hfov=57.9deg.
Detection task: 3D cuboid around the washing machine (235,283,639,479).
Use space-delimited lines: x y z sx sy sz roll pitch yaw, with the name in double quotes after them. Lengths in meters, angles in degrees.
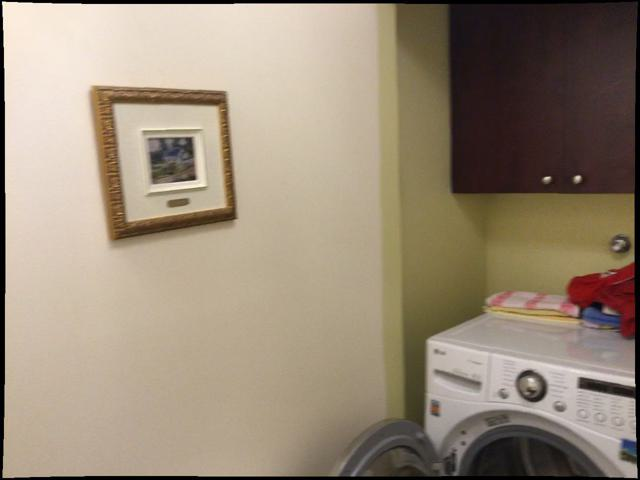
0.559 0.771 1.630 0.850 0.991 1.279 5 10 42 "washing machine"
